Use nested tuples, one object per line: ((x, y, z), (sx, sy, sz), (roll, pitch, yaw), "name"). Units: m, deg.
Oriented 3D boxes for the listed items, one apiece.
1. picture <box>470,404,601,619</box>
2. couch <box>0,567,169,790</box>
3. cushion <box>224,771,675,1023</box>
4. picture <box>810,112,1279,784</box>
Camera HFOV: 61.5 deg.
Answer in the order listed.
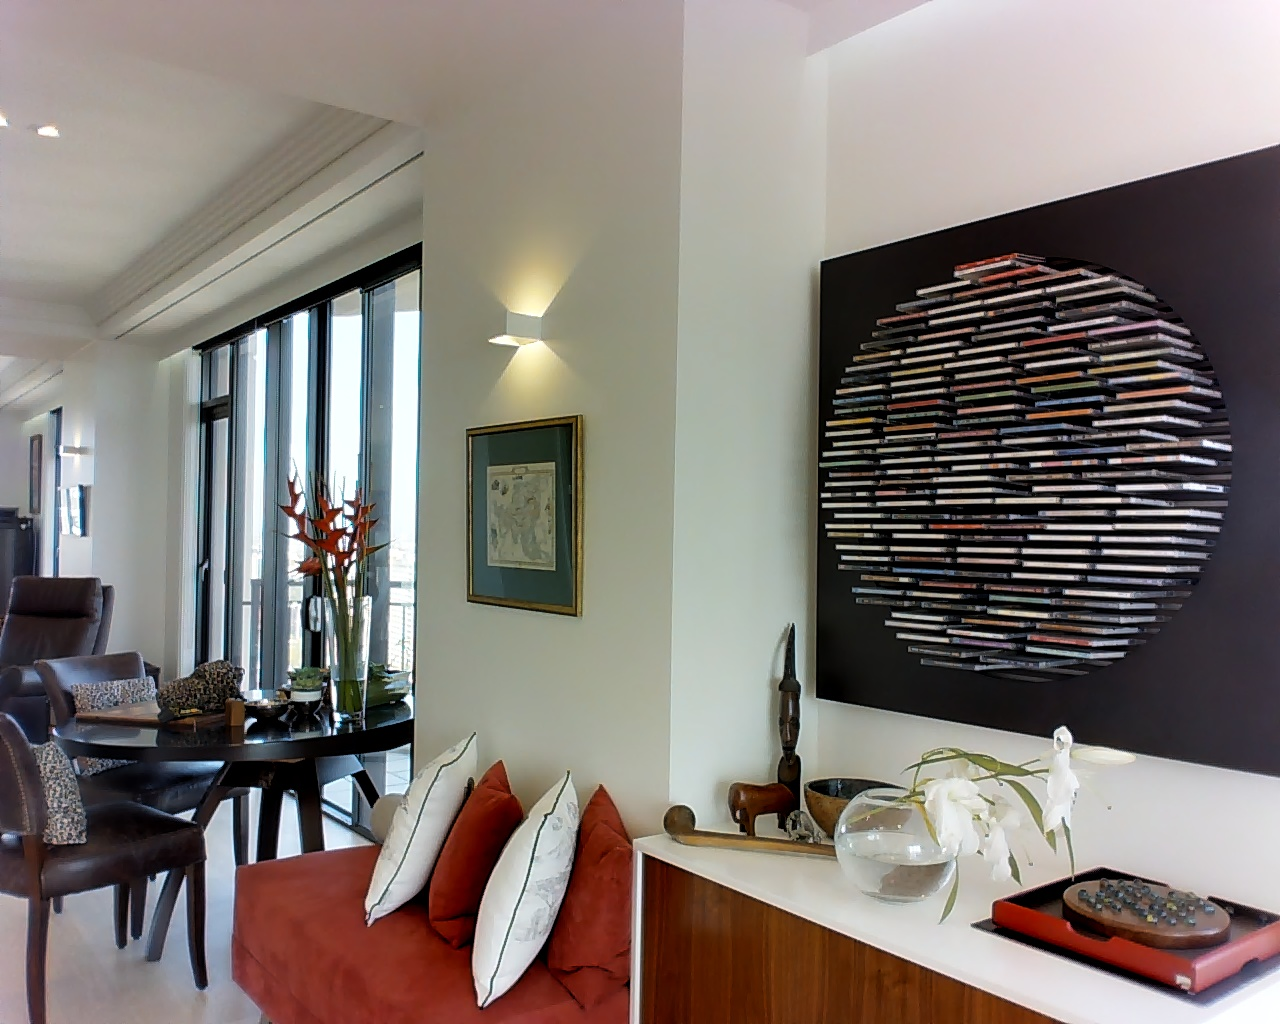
((-0.280, 0.000, 2.740), (0.020, 0.500, 0.590), (1, -1, -37), "picture")
((-3.459, 0.860, 6.010), (1.040, 1.050, 1.110), (0, -1, 15), "couch")
((-0.530, 1.070, 2.580), (0.530, 0.580, 1.290), (1, -1, -37), "cushion")
((0.760, -0.100, 2.090), (0.090, 1.060, 1.070), (1, -1, -38), "picture")
